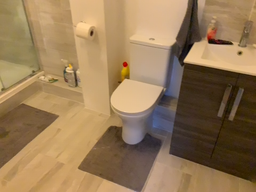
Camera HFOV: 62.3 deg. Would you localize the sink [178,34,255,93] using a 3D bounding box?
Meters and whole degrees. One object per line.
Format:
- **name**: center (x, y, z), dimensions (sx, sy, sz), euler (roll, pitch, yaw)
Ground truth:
- **sink**: center (0.700, -0.220, 1.370), dimensions (0.630, 0.130, 0.460), euler (15, 37, 19)
